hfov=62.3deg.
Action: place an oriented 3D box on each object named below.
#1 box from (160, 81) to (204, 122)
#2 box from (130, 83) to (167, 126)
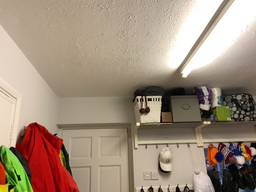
[{"bbox_3d":[0.610,0.080,2.500,0.380,0.360,0.430,-2,-18,1],"label":"box"},{"bbox_3d":[0.220,0.120,2.530,0.370,0.390,0.490,-2,-18,-1],"label":"box"}]
